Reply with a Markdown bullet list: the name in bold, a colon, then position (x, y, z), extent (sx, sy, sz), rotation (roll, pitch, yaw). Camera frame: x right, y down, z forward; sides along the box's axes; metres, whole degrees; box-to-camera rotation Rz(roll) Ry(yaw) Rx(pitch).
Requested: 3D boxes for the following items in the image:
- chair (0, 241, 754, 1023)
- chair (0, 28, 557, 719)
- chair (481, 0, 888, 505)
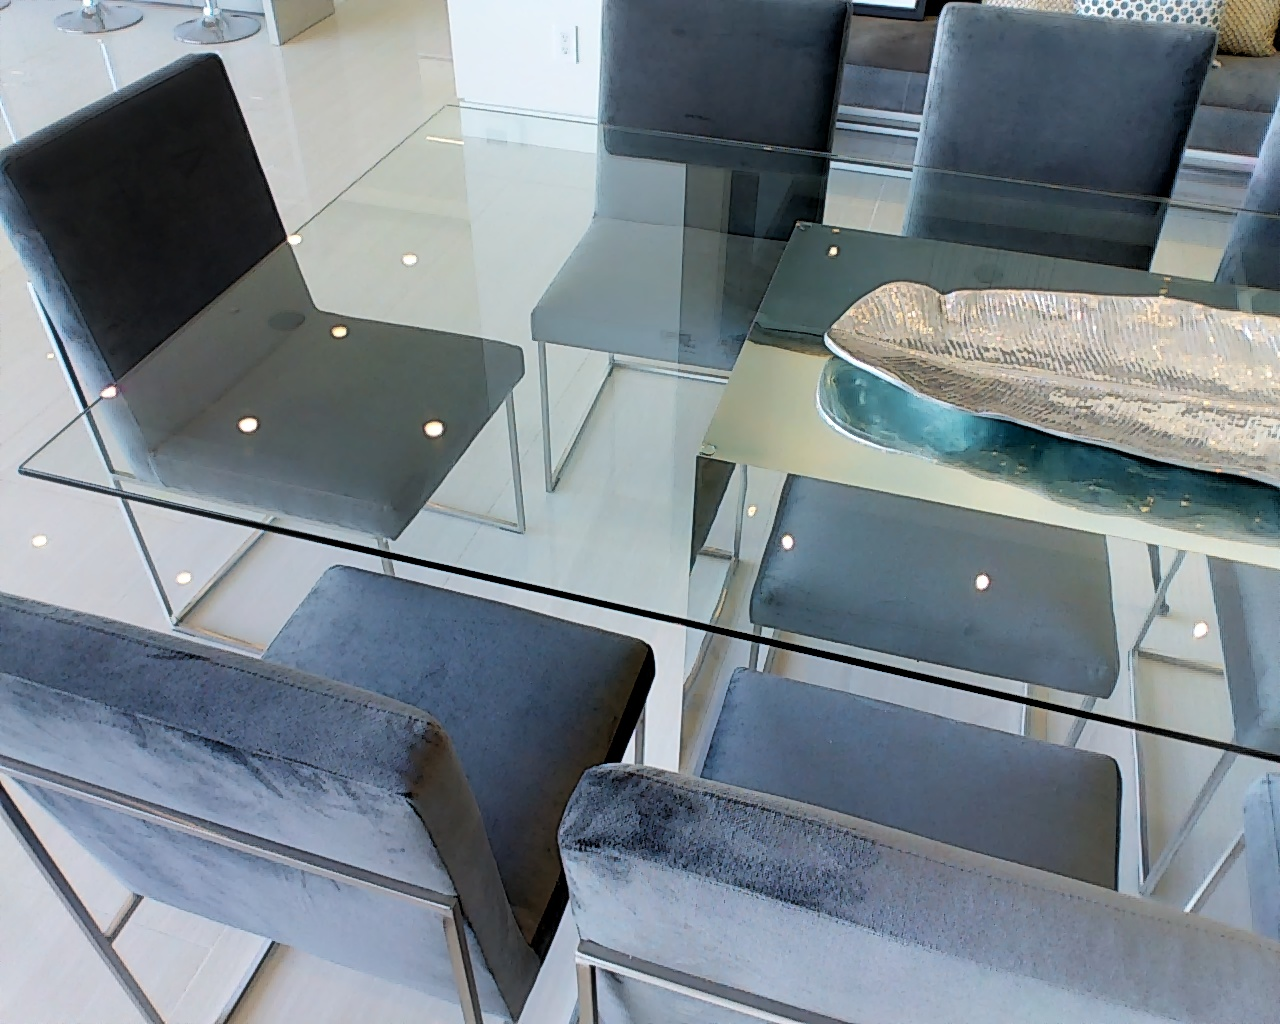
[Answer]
- **chair**: position (-0.270, 0.290, 1.320), extent (0.610, 0.940, 0.650), rotation (12, 43, 12)
- **chair**: position (-0.570, -0.230, 1.920), extent (0.650, 0.980, 0.560), rotation (12, 42, 12)
- **chair**: position (0.110, -0.590, 2.220), extent (0.590, 0.830, 0.650), rotation (12, 43, 12)
